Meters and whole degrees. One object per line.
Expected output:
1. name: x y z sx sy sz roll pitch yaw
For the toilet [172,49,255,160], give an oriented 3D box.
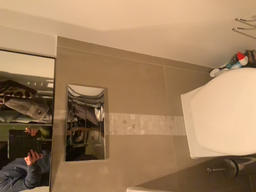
1. toilet: 0.560 0.090 1.030 0.520 0.400 0.370 -34 56 56
